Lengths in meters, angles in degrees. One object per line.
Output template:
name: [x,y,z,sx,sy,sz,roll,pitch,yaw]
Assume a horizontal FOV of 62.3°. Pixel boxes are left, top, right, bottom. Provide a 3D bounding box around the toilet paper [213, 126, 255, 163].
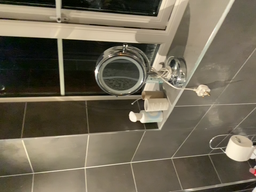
toilet paper: [0.690,0.290,1.290,0.130,0.250,0.160,106,156,-47]
